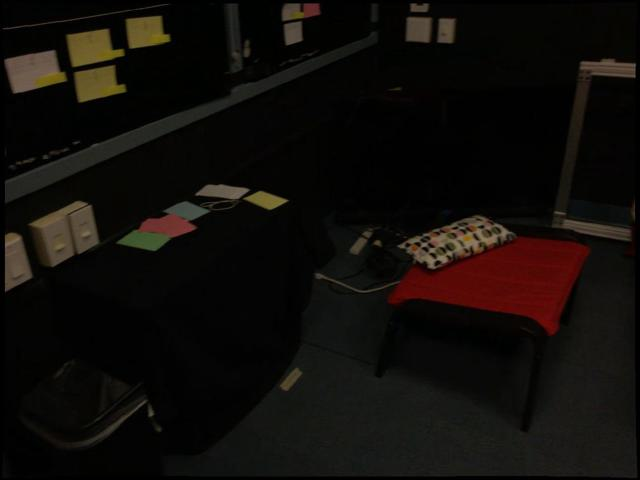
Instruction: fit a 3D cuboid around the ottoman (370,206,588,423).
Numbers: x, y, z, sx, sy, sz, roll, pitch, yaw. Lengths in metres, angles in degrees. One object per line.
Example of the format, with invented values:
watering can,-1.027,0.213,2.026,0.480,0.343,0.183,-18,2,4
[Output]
ottoman,0.588,0.211,2.080,0.569,0.311,0.700,14,33,25
